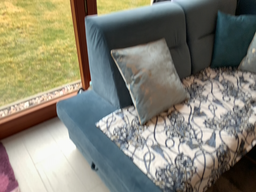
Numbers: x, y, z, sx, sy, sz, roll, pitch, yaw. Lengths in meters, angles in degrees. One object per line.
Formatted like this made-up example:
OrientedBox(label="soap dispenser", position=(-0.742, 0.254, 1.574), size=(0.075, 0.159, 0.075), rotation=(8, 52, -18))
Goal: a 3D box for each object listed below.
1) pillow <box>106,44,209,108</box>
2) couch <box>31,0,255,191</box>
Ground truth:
OrientedBox(label="pillow", position=(0.140, -0.100, 1.240), size=(0.400, 0.460, 0.160), rotation=(-13, 81, -25))
OrientedBox(label="couch", position=(0.160, 0.050, 1.280), size=(0.940, 0.940, 0.940), rotation=(-23, 43, -30))
